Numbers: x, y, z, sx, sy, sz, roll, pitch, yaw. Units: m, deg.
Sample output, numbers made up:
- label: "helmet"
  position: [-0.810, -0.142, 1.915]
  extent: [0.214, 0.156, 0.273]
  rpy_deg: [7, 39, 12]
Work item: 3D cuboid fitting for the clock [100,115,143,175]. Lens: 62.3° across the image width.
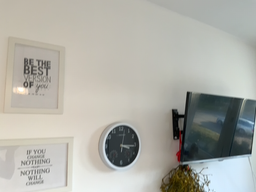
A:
- label: "clock"
  position: [-0.030, 0.260, 1.180]
  extent: [0.260, 0.300, 0.050]
  rpy_deg: [6, -10, -38]
